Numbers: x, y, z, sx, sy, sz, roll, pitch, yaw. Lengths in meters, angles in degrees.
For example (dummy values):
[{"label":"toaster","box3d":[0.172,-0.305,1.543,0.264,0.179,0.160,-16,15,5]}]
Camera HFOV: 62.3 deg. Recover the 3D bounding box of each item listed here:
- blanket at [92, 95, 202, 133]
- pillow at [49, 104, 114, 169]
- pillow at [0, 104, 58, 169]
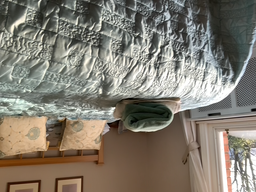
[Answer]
[{"label":"blanket","box3d":[0.090,0.130,1.240,0.420,0.160,0.480,7,167,-35]},{"label":"pillow","box3d":[-0.470,0.410,2.200,0.460,0.450,0.160,-39,180,-38]},{"label":"pillow","box3d":[-0.920,0.340,1.840,0.450,0.390,0.170,-20,175,-37]}]
